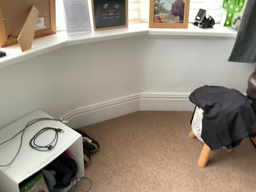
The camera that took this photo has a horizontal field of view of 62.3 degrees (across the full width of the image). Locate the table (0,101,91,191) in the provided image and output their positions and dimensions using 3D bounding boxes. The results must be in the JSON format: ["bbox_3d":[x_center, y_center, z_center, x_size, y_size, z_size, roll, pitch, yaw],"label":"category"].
[{"bbox_3d":[-0.470,0.310,1.100,0.340,0.310,0.410,27,41,30],"label":"table"}]

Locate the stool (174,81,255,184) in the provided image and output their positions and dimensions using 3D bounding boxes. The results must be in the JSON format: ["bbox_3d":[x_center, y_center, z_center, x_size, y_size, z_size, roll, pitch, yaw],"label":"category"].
[{"bbox_3d":[0.520,0.200,1.270,0.310,0.400,0.350,21,38,24],"label":"stool"}]
